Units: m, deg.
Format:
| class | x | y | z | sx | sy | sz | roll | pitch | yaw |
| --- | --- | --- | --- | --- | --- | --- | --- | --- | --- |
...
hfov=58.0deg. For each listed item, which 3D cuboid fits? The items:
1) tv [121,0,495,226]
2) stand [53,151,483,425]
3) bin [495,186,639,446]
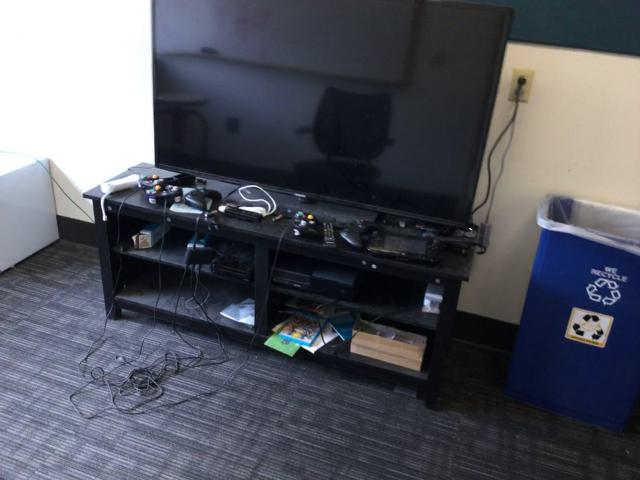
| class | x | y | z | sx | sy | sz | roll | pitch | yaw |
| --- | --- | --- | --- | --- | --- | --- | --- | --- | --- |
| tv | -0.050 | -0.450 | 1.980 | 1.200 | 0.790 | 0.090 | -2 | 24 | 21 |
| stand | -0.180 | 0.120 | 2.230 | 1.480 | 0.750 | 0.470 | 6 | 25 | 17 |
| bin | 0.940 | 0.250 | 2.000 | 0.560 | 0.750 | 0.390 | 6 | 25 | 17 |
